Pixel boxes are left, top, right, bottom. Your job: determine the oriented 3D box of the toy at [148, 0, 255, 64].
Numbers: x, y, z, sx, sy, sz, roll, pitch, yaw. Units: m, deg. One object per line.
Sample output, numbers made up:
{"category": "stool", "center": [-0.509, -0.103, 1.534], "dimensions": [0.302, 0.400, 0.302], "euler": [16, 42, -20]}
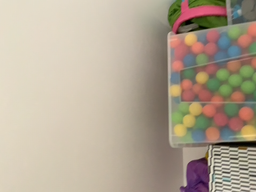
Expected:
{"category": "toy", "center": [0.510, -0.440, 1.290], "dimensions": [0.450, 0.620, 0.250], "euler": [17, -109, -50]}
